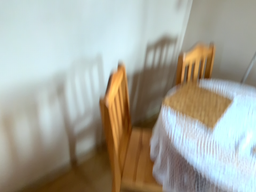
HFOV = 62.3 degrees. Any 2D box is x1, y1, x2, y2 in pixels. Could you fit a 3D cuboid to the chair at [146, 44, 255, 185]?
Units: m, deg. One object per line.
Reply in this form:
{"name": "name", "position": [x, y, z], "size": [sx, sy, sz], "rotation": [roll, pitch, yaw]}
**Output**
{"name": "chair", "position": [0.520, 0.140, 1.660], "size": [0.400, 0.900, 0.510], "rotation": [-21, 43, -33]}

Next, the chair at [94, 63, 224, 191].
{"name": "chair", "position": [0.110, 0.360, 1.250], "size": [0.510, 0.950, 0.390], "rotation": [11, 35, 7]}
